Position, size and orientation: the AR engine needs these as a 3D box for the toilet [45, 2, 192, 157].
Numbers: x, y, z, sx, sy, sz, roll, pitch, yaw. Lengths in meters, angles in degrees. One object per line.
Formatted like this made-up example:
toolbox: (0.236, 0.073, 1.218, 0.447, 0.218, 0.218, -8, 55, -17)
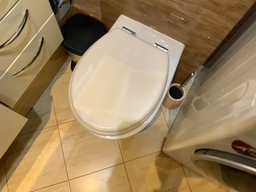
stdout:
toilet: (-0.030, -0.040, 1.030, 0.370, 0.430, 0.520, 27, 72, 5)
